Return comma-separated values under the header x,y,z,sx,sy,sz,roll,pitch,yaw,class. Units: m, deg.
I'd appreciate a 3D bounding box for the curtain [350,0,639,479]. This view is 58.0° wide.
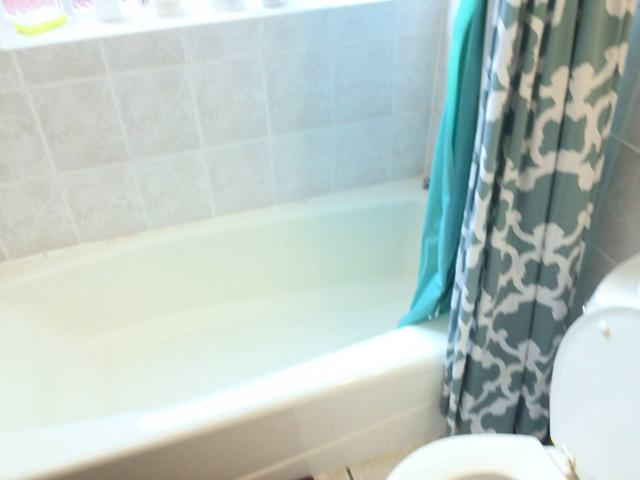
x,y,z,sx,sy,sz,roll,pitch,yaw,class
0.340,-0.320,1.050,0.350,1.840,0.510,-12,39,-15,curtain
